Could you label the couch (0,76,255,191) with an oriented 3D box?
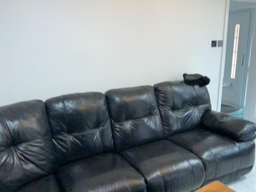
[{"bbox_3d":[-0.240,0.490,1.880,3.120,0.950,1.020,-8,15,-26],"label":"couch"}]
